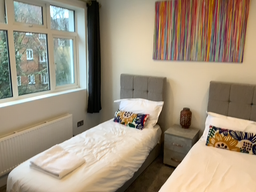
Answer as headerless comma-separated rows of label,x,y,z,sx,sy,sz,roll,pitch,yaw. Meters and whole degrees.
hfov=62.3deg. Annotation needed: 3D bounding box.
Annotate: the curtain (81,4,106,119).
curtain,-0.590,-0.570,3.720,0.200,1.880,0.400,8,14,28
